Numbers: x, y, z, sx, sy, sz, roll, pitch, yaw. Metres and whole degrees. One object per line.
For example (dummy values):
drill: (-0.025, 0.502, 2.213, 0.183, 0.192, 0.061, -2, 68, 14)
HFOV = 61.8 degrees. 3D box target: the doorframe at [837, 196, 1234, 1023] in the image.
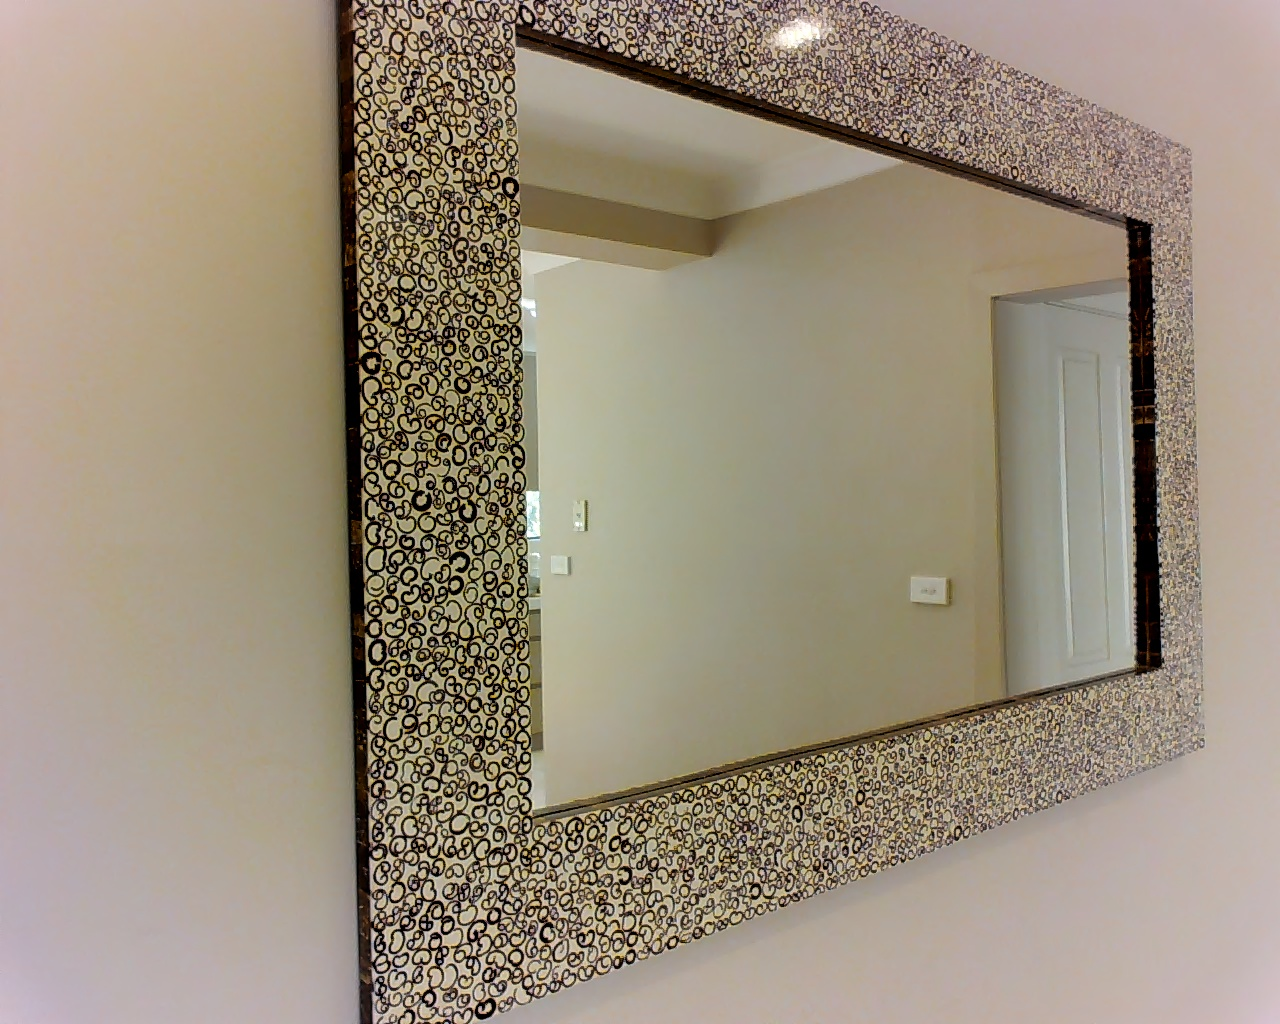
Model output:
doorframe: (0.970, 0.400, 2.770, 0.130, 2.181, 0.970, -2, 0, -41)
